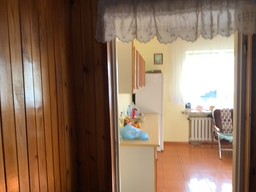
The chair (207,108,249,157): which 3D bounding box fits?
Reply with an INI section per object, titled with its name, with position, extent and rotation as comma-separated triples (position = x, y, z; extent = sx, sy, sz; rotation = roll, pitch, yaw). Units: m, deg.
[chair]
position = 2.140, 0.750, 4.640
extent = 0.600, 0.880, 0.840
rotation = 0, 5, 7
